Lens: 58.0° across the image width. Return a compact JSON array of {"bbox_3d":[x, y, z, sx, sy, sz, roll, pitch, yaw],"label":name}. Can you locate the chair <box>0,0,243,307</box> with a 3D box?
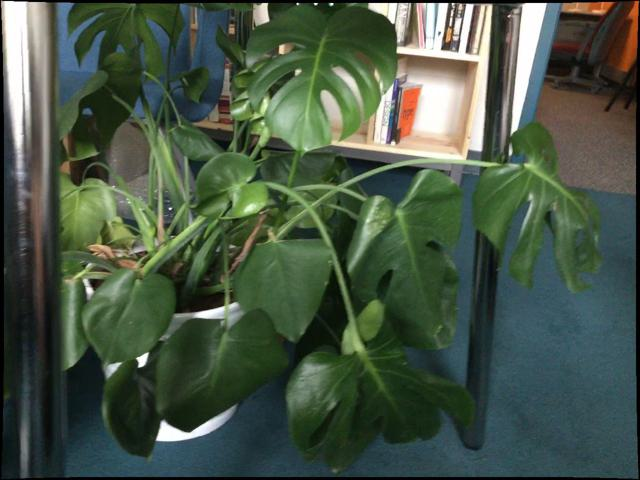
[{"bbox_3d":[-0.519,-0.361,1.380,0.648,0.812,0.640,0,26,-9],"label":"chair"}]
